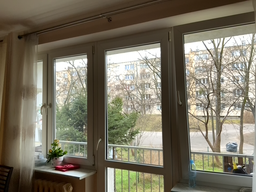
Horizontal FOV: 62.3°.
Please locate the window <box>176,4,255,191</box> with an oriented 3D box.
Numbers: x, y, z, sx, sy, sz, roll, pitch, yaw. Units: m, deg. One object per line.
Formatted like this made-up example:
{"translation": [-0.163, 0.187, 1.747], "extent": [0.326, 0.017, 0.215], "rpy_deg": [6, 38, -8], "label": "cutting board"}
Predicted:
{"translation": [0.790, 0.100, 1.840], "extent": [0.660, 1.580, 0.240], "rpy_deg": [-2, -3, 29], "label": "window"}
